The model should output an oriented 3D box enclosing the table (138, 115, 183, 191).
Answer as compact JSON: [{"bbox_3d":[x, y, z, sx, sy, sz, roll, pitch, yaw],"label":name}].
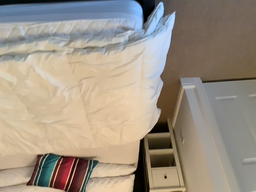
[{"bbox_3d":[0.330,0.710,2.410,0.340,0.790,0.530,-5,143,0],"label":"table"}]
